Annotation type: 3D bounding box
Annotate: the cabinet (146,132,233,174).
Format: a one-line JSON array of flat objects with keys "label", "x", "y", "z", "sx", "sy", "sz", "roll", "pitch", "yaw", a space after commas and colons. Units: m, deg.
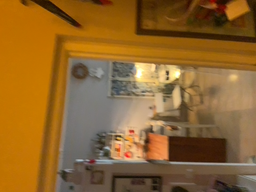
[{"label": "cabinet", "x": 0.980, "y": 0.970, "z": 3.880, "sx": 1.590, "sy": 0.960, "sz": 0.510, "roll": 134, "pitch": 139, "yaw": -80}]
